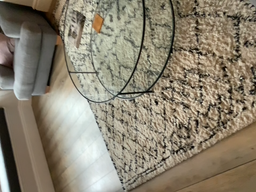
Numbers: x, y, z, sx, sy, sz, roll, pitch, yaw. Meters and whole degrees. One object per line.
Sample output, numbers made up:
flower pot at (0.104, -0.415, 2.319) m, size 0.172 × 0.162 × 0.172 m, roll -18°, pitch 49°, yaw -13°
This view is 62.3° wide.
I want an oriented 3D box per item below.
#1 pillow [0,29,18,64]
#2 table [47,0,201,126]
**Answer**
pillow at (-1.650, -0.640, 2.770) m, size 0.140 × 0.270 × 0.400 m, roll 54°, pitch 151°, yaw 40°
table at (-0.180, -0.480, 1.640) m, size 1.020 × 0.340 × 1.020 m, roll -45°, pitch 61°, yaw 40°
